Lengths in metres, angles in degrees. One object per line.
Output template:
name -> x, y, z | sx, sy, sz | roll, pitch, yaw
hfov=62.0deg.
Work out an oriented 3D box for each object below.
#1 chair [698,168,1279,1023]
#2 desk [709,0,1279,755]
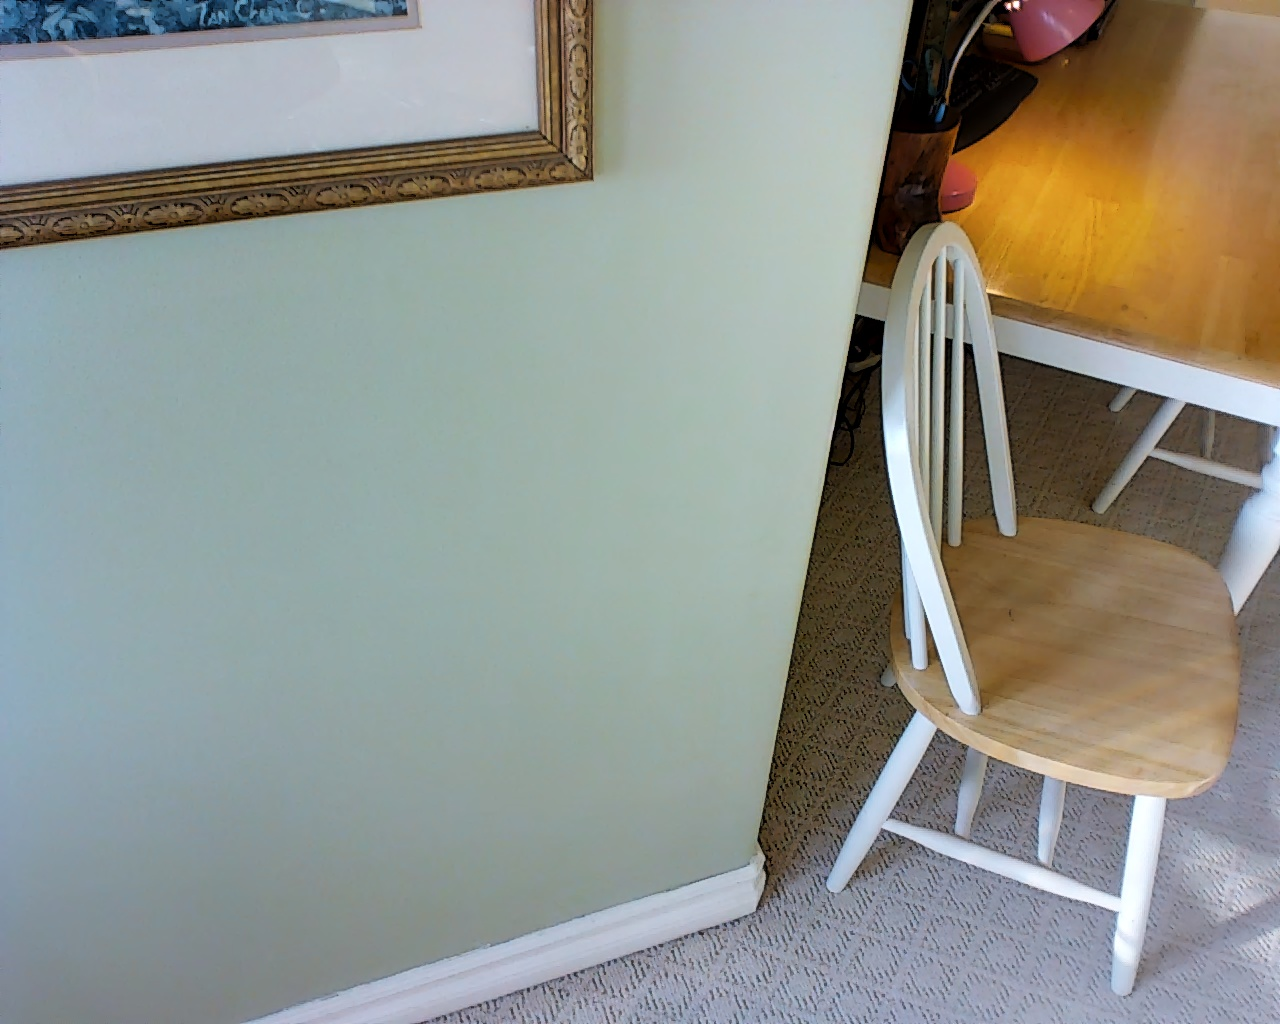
chair -> 0.480, 0.120, 1.380 | 0.610, 0.850, 0.510 | 19, 45, 18
desk -> 0.910, -0.470, 2.170 | 0.970, 0.700, 1.540 | 19, 45, 18
